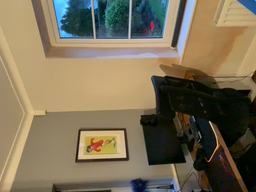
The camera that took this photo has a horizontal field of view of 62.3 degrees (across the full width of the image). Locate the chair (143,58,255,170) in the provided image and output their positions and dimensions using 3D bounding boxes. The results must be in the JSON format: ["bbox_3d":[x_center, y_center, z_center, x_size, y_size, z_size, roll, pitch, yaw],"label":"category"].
[{"bbox_3d":[0.850,0.160,2.030,0.700,1.260,0.770,-96,7,-46],"label":"chair"}]
